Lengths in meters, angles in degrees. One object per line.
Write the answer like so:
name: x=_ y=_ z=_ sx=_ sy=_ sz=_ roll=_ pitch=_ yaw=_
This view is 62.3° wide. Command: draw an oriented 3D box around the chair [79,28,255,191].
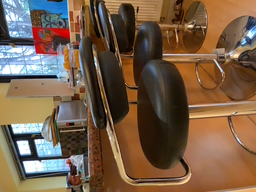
chair: x=0.310 y=0.040 z=0.810 sx=0.520 sy=0.940 sz=0.460 roll=-111 pitch=22 yaw=-60

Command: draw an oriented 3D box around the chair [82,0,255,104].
chair: x=0.220 y=-0.270 z=1.240 sx=0.450 sy=0.940 sz=0.410 roll=100 pitch=164 yaw=-47
